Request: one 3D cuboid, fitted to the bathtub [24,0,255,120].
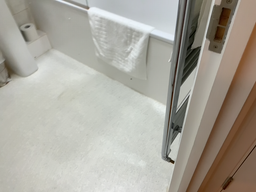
[{"bbox_3d":[-0.030,-0.590,1.760,1.670,0.570,0.680,28,56,26],"label":"bathtub"}]
